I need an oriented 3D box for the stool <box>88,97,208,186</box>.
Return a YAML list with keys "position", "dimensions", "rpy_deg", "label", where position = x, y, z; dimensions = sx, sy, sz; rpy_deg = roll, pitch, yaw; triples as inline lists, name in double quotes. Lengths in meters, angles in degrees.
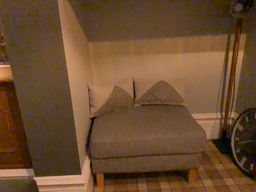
- position: [0.130, 0.330, 1.750]
  dimensions: [0.790, 0.430, 0.610]
  rpy_deg: [-2, 20, -1]
  label: "stool"
